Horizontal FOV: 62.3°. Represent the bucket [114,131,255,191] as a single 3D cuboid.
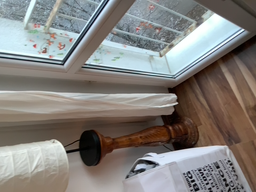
[{"bbox_3d":[0.360,0.510,1.200,0.380,0.690,0.450,-36,64,42],"label":"bucket"}]
